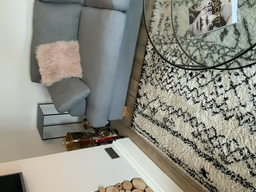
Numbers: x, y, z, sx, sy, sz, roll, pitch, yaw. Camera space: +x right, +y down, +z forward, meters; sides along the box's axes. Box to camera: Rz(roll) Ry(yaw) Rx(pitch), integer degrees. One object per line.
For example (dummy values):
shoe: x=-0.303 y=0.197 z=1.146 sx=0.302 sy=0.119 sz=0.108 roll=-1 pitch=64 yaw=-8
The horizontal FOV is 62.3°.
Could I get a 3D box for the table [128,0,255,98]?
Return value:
table: x=0.500 y=-0.650 z=1.220 sx=1.020 sy=0.320 sz=1.010 roll=34 pitch=119 yaw=50
